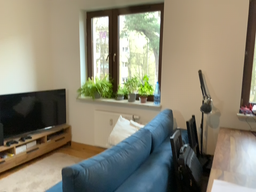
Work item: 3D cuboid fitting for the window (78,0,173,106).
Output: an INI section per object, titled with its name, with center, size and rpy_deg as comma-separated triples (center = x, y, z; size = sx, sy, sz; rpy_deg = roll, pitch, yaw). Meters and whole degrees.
[window]
center = -0.110, -0.680, 3.490
size = 1.570, 1.530, 0.230
rpy_deg = 5, 10, 25

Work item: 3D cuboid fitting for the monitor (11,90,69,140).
[monitor]
center = -1.370, 0.270, 3.410
size = 0.080, 0.630, 0.920
rpy_deg = 8, 11, 37

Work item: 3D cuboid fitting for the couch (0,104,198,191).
[couch]
center = -0.010, 0.760, 2.130
size = 0.990, 0.910, 2.230
rpy_deg = 6, 10, 26
